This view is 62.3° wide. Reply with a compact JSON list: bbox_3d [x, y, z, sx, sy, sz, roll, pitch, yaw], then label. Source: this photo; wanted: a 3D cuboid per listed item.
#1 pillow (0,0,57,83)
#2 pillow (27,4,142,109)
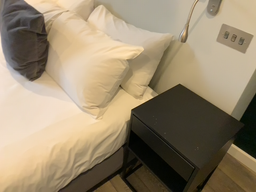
[{"bbox_3d":[-0.630,-0.350,1.290,0.240,0.410,0.310,-17,42,-43],"label":"pillow"},{"bbox_3d":[-0.270,-0.240,1.180,0.590,0.370,0.170,32,4,35],"label":"pillow"}]
